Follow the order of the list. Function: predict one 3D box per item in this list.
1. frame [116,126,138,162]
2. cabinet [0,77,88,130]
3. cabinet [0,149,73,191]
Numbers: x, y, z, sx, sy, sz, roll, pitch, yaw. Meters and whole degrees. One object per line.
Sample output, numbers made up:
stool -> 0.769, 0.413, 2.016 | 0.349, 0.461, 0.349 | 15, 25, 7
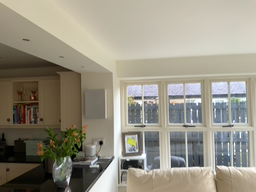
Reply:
frame -> -0.010, 0.670, 3.020 | 0.120, 0.440, 0.290 | -6, -1, 40
cabinet -> -1.490, 0.140, 3.570 | 1.560, 0.800, 0.360 | -2, -2, 10
cabinet -> -1.610, 1.390, 3.440 | 1.220, 0.890, 0.620 | -2, -2, 10
